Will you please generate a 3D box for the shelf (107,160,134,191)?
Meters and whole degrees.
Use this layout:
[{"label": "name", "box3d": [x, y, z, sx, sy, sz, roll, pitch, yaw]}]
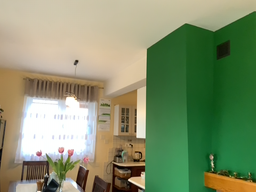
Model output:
[{"label": "shelf", "box3d": [-0.170, 1.880, 4.640, 0.380, 0.860, 0.570, 6, -11, -25]}]
